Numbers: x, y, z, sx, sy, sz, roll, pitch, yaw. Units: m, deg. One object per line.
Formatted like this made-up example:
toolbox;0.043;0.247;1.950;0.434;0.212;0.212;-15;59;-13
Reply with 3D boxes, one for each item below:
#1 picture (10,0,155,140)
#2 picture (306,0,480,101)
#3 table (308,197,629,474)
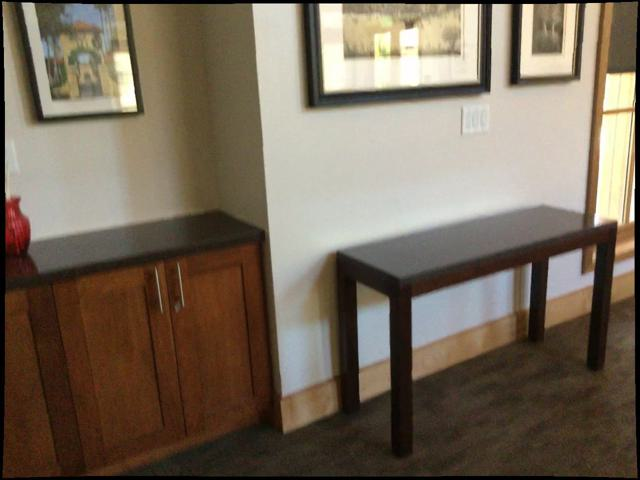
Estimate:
picture;-0.869;-0.681;2.140;0.420;0.561;0.070;-14;19;-30
picture;0.310;-0.851;2.240;0.799;0.540;0.070;-14;19;-30
table;0.659;0.300;2.450;1.309;0.681;0.500;-14;19;-30
